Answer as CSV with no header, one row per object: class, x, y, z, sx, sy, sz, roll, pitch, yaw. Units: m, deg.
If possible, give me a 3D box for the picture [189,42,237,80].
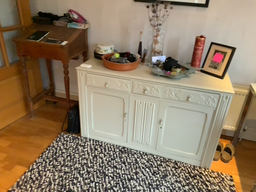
picture,0.760,-0.330,1.930,0.180,0.240,0.320,-20,35,-36
